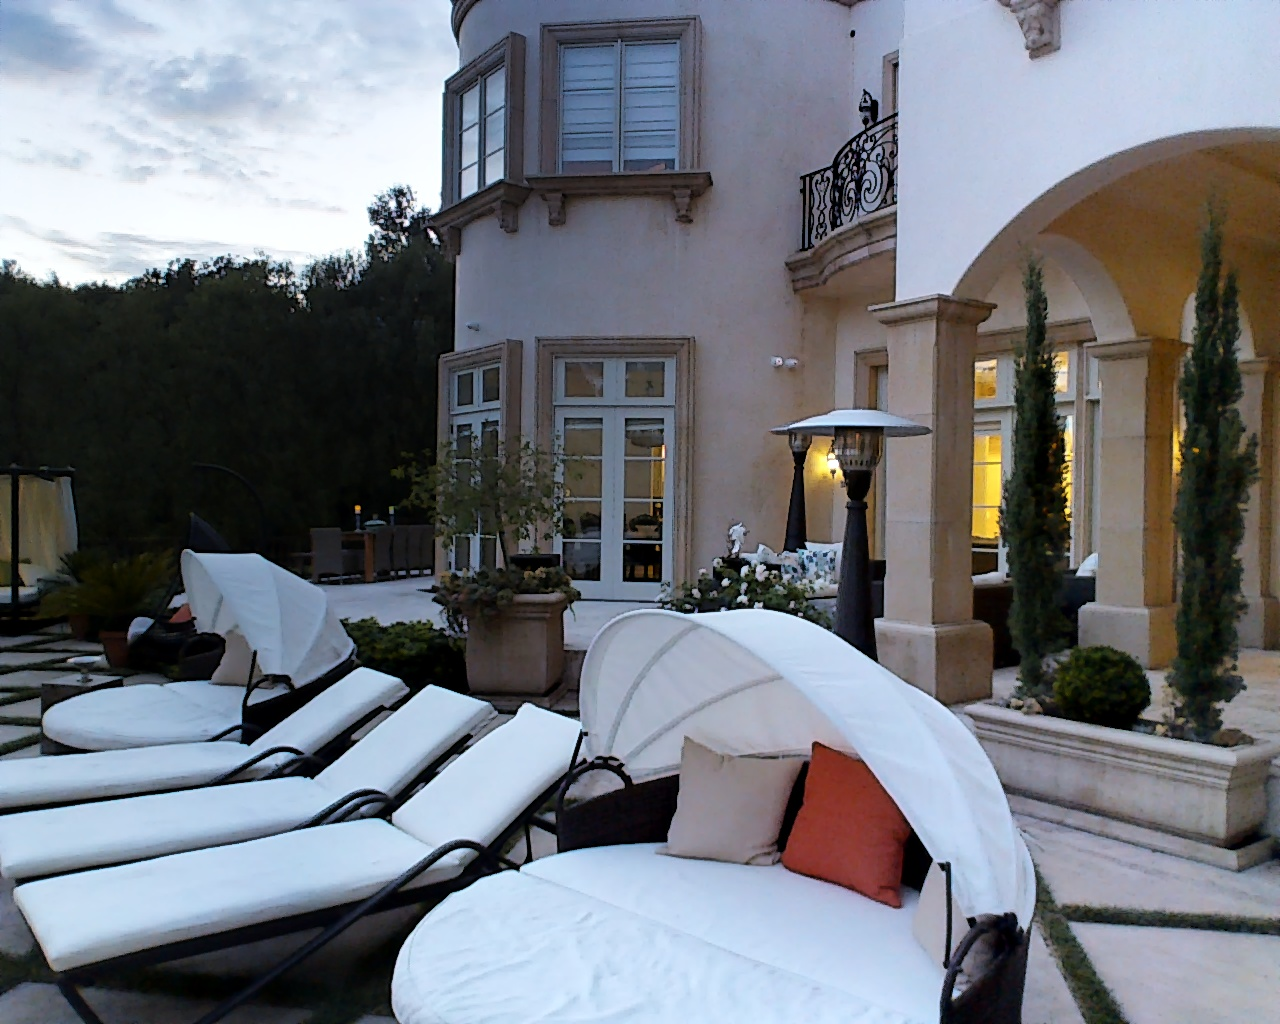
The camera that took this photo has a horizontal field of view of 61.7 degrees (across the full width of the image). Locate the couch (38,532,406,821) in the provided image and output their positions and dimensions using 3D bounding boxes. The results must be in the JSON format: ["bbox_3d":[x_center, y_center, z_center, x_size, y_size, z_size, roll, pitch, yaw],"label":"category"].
[{"bbox_3d":[-2.649,0.860,6.680,1.890,1.430,1.770,1,0,-29],"label":"couch"}]

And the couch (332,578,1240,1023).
[{"bbox_3d":[0.210,0.940,3.090,1.880,1.360,1.880,1,0,-23],"label":"couch"}]
